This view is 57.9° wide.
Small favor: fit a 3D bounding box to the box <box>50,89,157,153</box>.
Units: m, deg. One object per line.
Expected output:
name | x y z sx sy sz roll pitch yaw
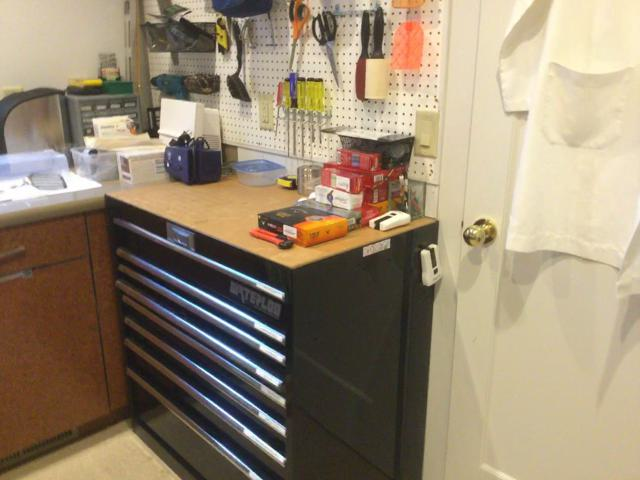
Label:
box | -0.800 -0.450 2.150 0.210 0.190 0.290 18 25 42
